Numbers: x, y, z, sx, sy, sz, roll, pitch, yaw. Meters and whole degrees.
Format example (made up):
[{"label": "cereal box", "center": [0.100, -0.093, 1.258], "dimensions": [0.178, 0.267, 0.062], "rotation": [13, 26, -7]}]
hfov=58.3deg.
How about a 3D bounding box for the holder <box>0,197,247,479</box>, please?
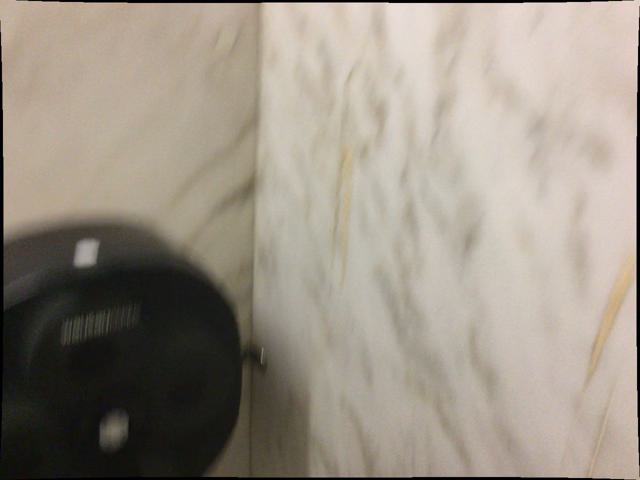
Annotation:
[{"label": "holder", "center": [-0.280, 0.180, 0.690], "dimensions": [0.350, 0.390, 0.150], "rotation": [-13, 26, -33]}]
